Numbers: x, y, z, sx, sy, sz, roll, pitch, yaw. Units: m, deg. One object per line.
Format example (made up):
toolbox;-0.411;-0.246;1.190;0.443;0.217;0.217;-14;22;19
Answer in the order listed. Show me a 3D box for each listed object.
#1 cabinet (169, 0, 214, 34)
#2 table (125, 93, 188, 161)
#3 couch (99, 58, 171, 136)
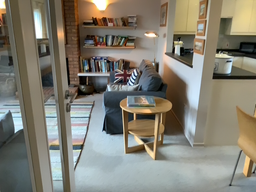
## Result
cabinet;1.390;-1.800;4.740;0.850;0.790;0.320;1;18;-1
table;0.280;0.340;2.500;0.630;0.600;0.560;0;18;-2
couch;0.060;-0.110;3.560;0.890;0.810;1.750;0;18;-2
